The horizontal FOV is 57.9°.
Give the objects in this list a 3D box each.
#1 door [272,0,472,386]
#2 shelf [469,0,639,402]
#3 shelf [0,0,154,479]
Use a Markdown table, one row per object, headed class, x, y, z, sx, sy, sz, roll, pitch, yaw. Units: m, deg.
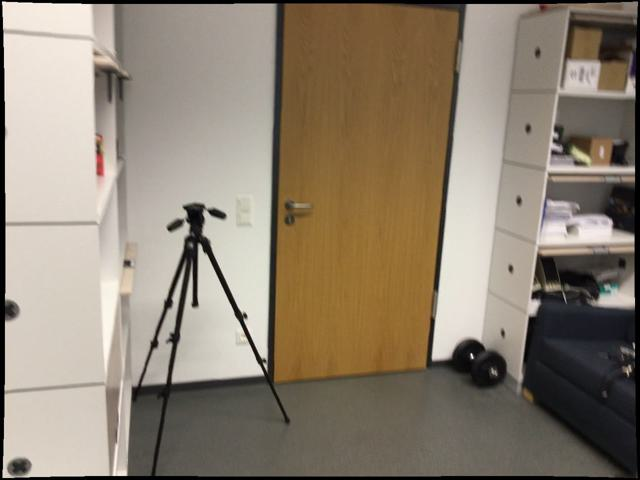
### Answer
| class | x | y | z | sx | sy | sz | roll | pitch | yaw |
| --- | --- | --- | --- | --- | --- | --- | --- | --- | --- |
| door | 0.260 | -0.280 | 3.150 | 0.999 | 2.122 | 0.210 | -3 | 14 | -15 |
| shelf | 1.429 | -0.270 | 3.170 | 0.919 | 2.162 | 0.490 | -3 | 14 | -15 |
| shelf | -0.949 | 0.000 | 1.940 | 0.609 | 2.202 | 1.640 | -3 | 14 | -15 |
